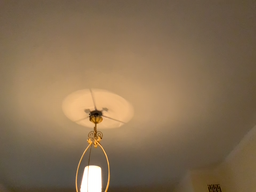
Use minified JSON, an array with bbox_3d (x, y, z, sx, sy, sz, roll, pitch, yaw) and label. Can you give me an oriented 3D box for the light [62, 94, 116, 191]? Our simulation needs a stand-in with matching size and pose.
[{"bbox_3d":[-0.190,0.310,1.150,0.140,0.200,0.650,4,-129,6],"label":"light"}]
